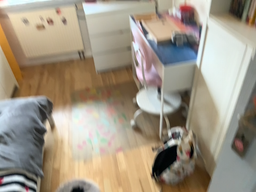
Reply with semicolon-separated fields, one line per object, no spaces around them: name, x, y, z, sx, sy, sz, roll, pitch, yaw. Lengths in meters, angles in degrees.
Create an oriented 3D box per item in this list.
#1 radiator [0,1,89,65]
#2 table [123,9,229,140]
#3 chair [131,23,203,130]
radiator;-1.120;-0.830;2.820;1.070;0.650;0.210;-10;39;-8
table;0.340;-0.270;2.060;0.520;0.760;1.050;-11;39;-9
chair;0.300;-0.150;1.870;0.450;0.820;0.350;-10;39;-7
